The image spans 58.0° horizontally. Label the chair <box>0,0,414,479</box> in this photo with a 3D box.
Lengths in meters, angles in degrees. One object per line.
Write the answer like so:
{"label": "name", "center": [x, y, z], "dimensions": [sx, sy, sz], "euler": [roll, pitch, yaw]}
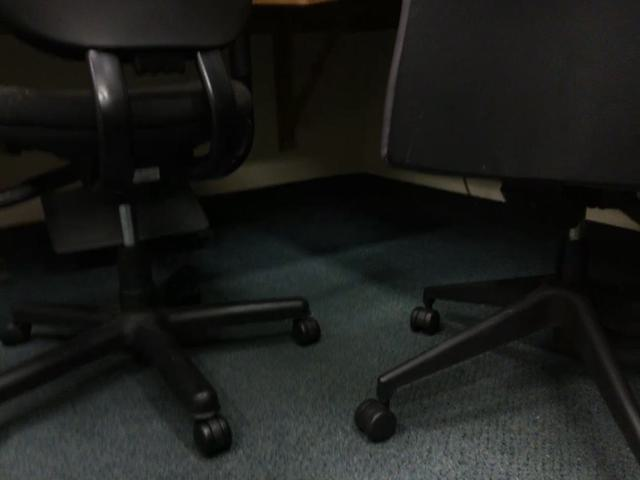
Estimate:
{"label": "chair", "center": [-0.330, -0.250, 1.020], "dimensions": [0.700, 1.050, 0.660], "euler": [-7, 16, -32]}

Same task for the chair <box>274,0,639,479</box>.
{"label": "chair", "center": [0.370, -0.220, 0.870], "dimensions": [0.650, 0.980, 0.620], "euler": [8, 15, 24]}
